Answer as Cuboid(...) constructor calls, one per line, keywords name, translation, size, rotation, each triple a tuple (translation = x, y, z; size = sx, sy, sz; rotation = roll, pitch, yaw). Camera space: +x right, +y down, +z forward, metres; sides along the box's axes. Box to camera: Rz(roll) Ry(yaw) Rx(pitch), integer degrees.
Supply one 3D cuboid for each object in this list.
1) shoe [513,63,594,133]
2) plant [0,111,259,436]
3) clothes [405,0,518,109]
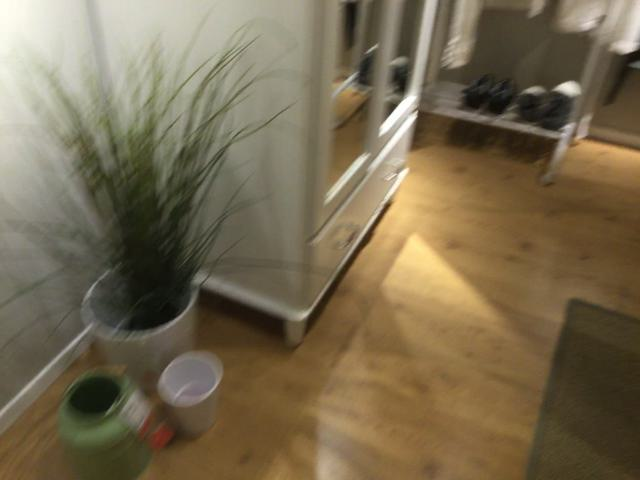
Cuboid(name="shoe", translation=(0.930, -0.570, 2.300), size=(0.230, 0.150, 0.270), rotation=(16, 42, 25))
Cuboid(name="plant", translation=(-0.430, 0.090, 1.410), size=(0.380, 0.680, 0.290), rotation=(16, 42, 25))
Cuboid(name="clothes", translation=(0.550, -1.020, 2.110), size=(0.260, 0.880, 0.560), rotation=(16, 42, 25))
